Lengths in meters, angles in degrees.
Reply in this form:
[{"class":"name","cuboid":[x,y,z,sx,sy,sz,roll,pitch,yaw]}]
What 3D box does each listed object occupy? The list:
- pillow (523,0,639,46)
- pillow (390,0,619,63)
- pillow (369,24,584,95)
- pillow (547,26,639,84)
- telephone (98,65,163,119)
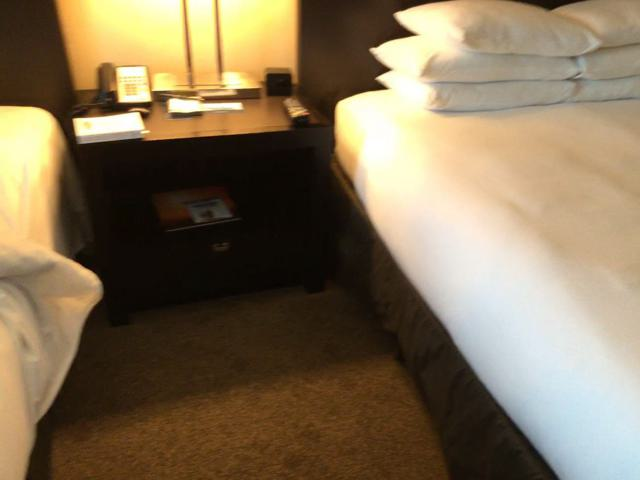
[{"class":"pillow","cuboid":[1.150,-0.860,2.120,0.610,0.190,0.420,-7,31,-16]},{"class":"pillow","cuboid":[0.620,-0.760,2.020,0.610,0.160,0.430,-7,31,-16]},{"class":"pillow","cuboid":[0.540,-0.660,2.070,0.610,0.140,0.400,-7,31,-16]},{"class":"pillow","cuboid":[1.160,-0.660,2.030,0.700,0.150,0.160,-7,31,-16]},{"class":"telephone","cuboid":[-0.620,-0.490,1.890,0.180,0.090,0.290,-7,31,-16]}]
